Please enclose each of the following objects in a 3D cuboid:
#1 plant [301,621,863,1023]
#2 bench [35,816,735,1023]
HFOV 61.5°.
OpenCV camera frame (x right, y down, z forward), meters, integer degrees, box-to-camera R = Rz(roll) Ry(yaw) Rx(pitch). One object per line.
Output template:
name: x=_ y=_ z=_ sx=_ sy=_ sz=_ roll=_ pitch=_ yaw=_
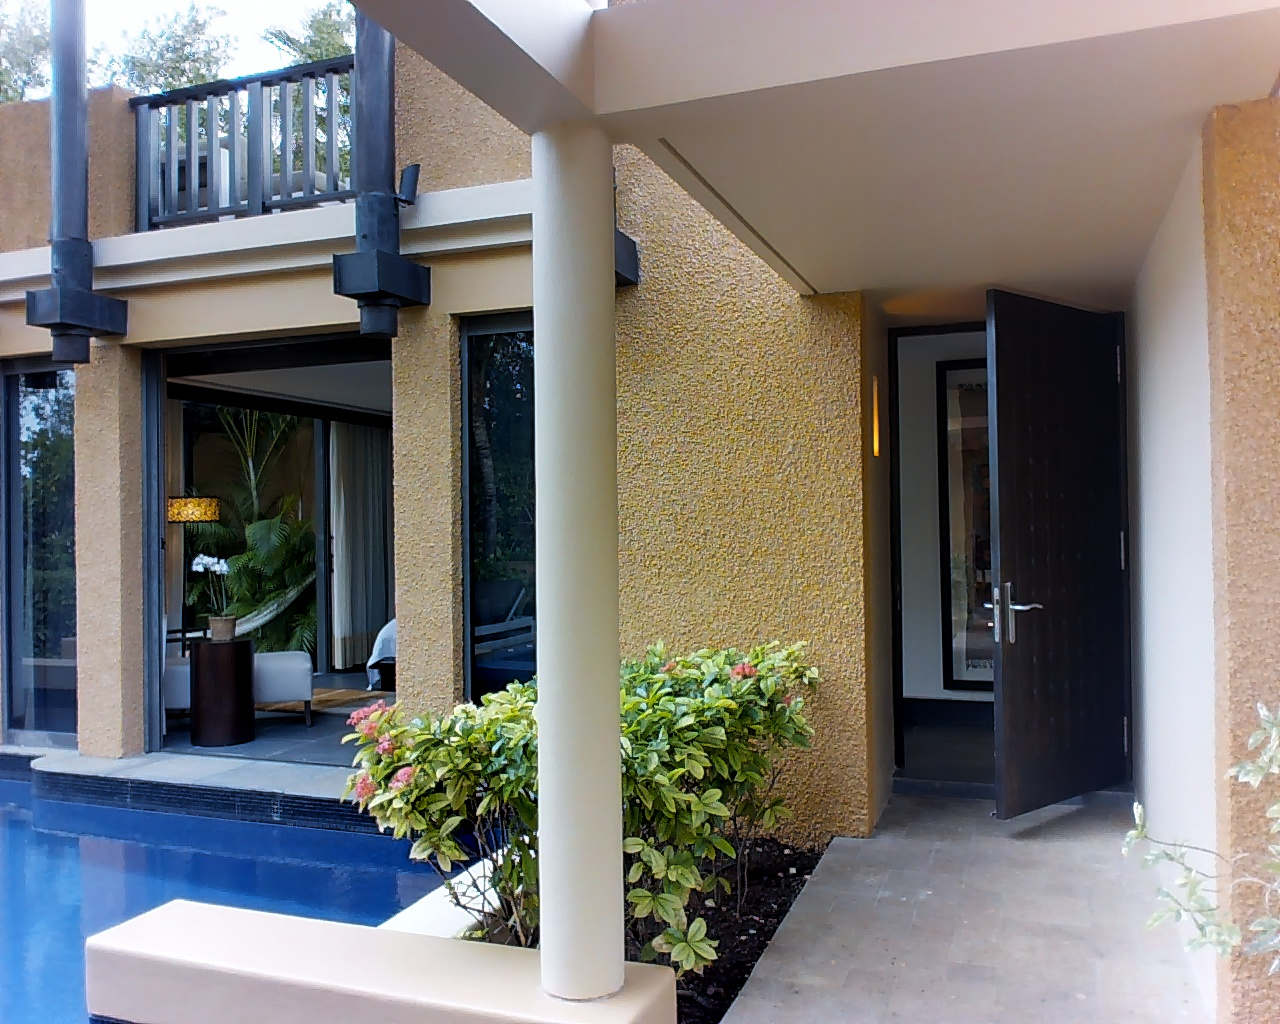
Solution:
plant: x=0.030 y=1.080 z=4.060 sx=1.190 sy=1.090 sz=2.500 roll=-1 pitch=-1 yaw=21
bench: x=-0.780 y=1.381 z=3.190 sx=2.019 sy=0.640 sz=0.610 roll=-1 pitch=-1 yaw=21
